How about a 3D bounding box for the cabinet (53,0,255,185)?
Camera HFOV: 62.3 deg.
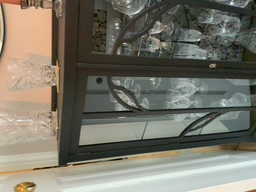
[{"bbox_3d":[0.320,-0.170,0.920,0.370,1.190,0.900,-123,38,-53],"label":"cabinet"}]
